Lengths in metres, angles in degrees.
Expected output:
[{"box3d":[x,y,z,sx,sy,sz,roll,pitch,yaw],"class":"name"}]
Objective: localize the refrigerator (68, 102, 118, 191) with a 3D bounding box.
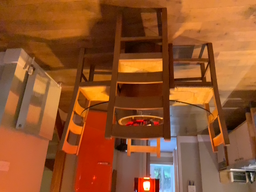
[{"box3d":[-0.640,0.970,3.930,0.600,1.470,0.740,11,156,-19],"class":"refrigerator"}]
